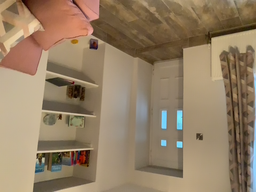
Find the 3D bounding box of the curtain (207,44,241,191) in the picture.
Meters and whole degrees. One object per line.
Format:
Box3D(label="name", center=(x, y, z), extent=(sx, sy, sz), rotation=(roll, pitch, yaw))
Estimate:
Box3D(label="curtain", center=(1.220, 0.360, 2.700), extent=(0.350, 1.980, 0.290), rotation=(-2, 171, 29))
